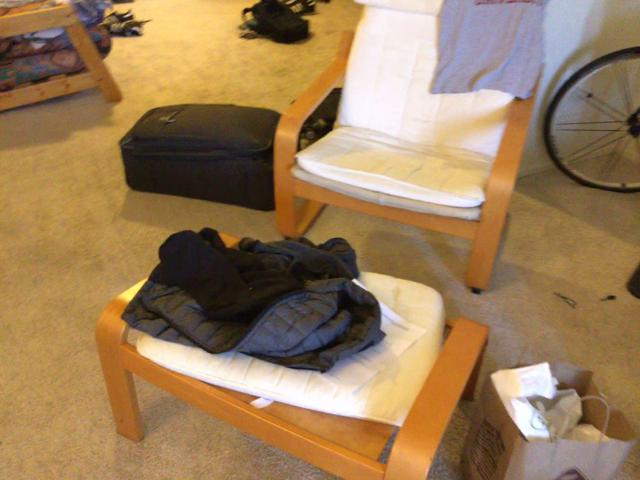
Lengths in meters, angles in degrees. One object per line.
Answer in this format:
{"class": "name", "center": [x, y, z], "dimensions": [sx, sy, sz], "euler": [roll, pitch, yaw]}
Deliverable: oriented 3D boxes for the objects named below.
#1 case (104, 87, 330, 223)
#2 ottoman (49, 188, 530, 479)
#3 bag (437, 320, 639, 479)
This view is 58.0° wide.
{"class": "case", "center": [-0.380, -0.360, 2.340], "dimensions": [0.770, 0.280, 0.460], "euler": [8, 36, 5]}
{"class": "ottoman", "center": [-0.030, 0.290, 1.380], "dimensions": [0.860, 0.380, 0.640], "euler": [17, 37, 17]}
{"class": "bag", "center": [0.480, 0.420, 1.240], "dimensions": [0.310, 0.370, 0.290], "euler": [-4, 36, -10]}
